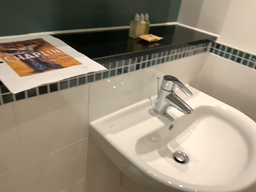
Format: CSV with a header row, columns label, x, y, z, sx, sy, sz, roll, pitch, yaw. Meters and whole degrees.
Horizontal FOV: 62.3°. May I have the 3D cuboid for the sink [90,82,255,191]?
label,x,y,z,sx,sy,sz,roll,pitch,yaw
sink,0.220,0.170,0.750,0.550,0.160,0.430,-19,40,-39
